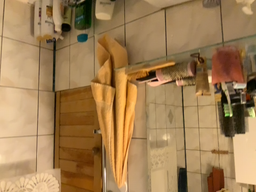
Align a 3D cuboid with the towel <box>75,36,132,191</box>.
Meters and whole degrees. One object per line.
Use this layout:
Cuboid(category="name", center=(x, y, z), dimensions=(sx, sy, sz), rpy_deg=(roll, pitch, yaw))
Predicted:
Cuboid(category="towel", center=(-0.110, 0.080, 0.910), dimensions=(0.230, 0.610, 0.100), rpy_deg=(-5, 173, 39))
